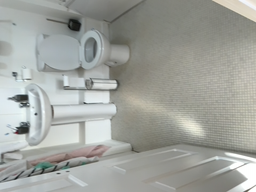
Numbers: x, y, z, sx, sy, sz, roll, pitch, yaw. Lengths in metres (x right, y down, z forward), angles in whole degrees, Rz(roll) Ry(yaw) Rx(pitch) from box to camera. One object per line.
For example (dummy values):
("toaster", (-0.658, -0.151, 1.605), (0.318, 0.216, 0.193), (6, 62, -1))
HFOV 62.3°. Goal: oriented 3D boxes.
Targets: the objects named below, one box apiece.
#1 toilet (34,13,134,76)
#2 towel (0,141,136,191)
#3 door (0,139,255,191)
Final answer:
("toilet", (-0.450, -0.450, 2.150), (0.660, 0.770, 0.370), (-6, 86, 52))
("towel", (-0.620, 0.400, 1.190), (0.460, 1.340, 0.100), (-13, 80, 51))
("door", (-0.160, 0.360, 0.760), (0.880, 1.950, 0.050), (-5, 87, 52))
